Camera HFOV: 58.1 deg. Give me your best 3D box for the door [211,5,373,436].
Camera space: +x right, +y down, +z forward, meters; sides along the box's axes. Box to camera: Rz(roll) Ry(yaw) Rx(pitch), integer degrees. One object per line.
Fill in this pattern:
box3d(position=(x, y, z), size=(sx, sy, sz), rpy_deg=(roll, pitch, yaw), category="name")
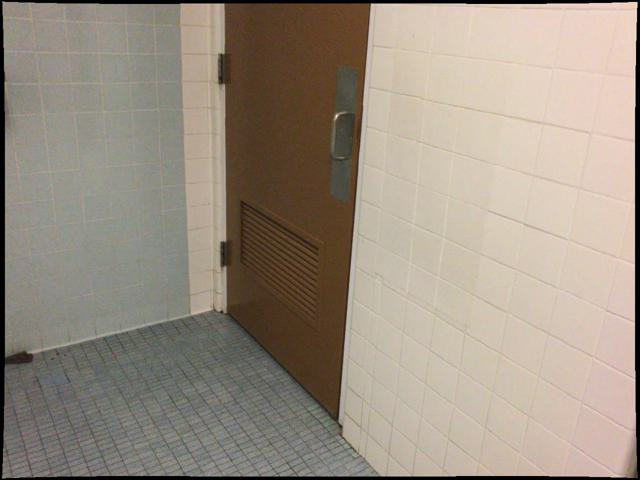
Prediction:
box3d(position=(-0.180, -0.110, 2.160), size=(0.080, 1.423, 0.859), rpy_deg=(-10, 24, -35), category="door")
